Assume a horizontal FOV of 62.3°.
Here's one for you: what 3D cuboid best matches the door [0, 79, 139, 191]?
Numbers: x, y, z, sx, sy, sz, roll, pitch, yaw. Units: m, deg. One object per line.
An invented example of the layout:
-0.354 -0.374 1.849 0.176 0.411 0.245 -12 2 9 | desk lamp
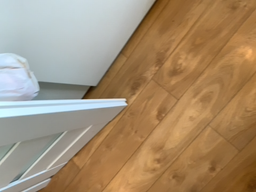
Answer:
-0.630 0.270 0.480 0.820 2.170 0.090 -45 75 15 | door
